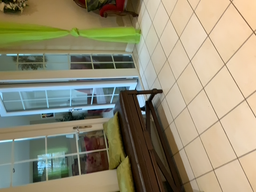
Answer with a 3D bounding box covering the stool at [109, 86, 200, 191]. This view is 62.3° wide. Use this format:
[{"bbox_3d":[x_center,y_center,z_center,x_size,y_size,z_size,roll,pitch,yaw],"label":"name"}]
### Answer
[{"bbox_3d":[0.210,0.520,2.300,0.460,0.540,1.190,114,147,-54],"label":"stool"}]
